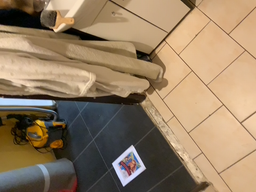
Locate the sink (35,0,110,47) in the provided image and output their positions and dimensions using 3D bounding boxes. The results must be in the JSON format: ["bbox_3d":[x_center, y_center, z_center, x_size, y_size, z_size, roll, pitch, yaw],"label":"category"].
[{"bbox_3d":[-0.230,-0.570,0.990,0.520,0.130,0.400,-43,62,29],"label":"sink"}]

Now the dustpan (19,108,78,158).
[{"bbox_3d":[-0.880,0.390,2.330,0.370,0.400,0.380,-42,63,29],"label":"dustpan"}]

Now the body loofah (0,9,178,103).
[{"bbox_3d":[-0.190,-0.130,1.110,0.240,1.400,0.190,-43,62,29],"label":"body loofah"}]
